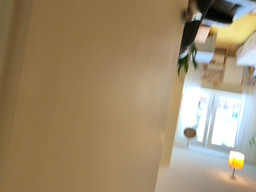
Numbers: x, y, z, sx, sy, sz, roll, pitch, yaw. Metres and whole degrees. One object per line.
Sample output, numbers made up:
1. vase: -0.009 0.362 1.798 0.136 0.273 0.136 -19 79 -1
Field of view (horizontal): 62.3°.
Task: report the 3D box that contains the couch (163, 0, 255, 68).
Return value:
1. couch: 0.910 -0.860 2.100 0.820 0.930 0.820 10 -179 -1
